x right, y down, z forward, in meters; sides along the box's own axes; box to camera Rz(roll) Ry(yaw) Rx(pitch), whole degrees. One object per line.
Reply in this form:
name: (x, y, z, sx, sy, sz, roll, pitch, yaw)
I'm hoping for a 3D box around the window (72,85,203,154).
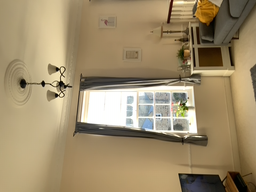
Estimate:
window: (0.210, 0.490, 4.700, 0.310, 2.680, 1.400, 79, -167, -71)
